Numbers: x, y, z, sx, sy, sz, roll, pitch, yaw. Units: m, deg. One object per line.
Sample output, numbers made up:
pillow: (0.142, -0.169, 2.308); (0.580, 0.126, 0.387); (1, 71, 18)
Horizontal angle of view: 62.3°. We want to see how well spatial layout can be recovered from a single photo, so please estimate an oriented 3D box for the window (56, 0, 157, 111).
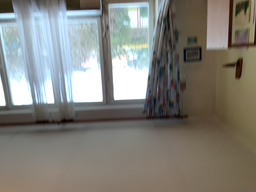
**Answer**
window: (-0.290, -0.650, 3.410); (1.480, 1.700, 0.180); (-3, -167, -4)
